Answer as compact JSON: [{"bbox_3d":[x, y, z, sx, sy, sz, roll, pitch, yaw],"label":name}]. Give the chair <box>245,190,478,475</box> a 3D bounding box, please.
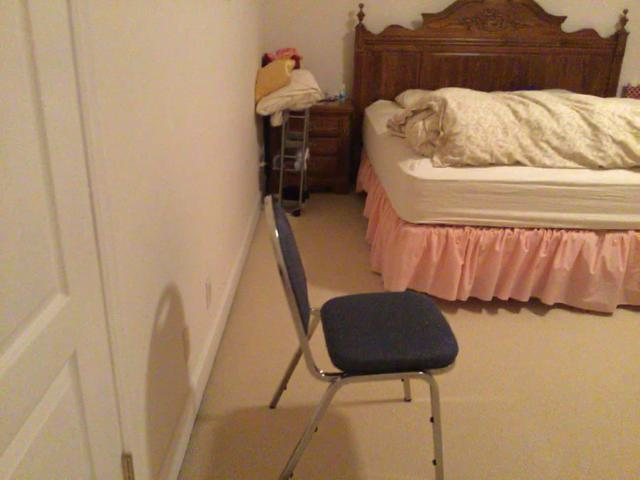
[{"bbox_3d":[0.110,0.250,1.660,0.550,0.690,0.390,-2,19,1],"label":"chair"}]
